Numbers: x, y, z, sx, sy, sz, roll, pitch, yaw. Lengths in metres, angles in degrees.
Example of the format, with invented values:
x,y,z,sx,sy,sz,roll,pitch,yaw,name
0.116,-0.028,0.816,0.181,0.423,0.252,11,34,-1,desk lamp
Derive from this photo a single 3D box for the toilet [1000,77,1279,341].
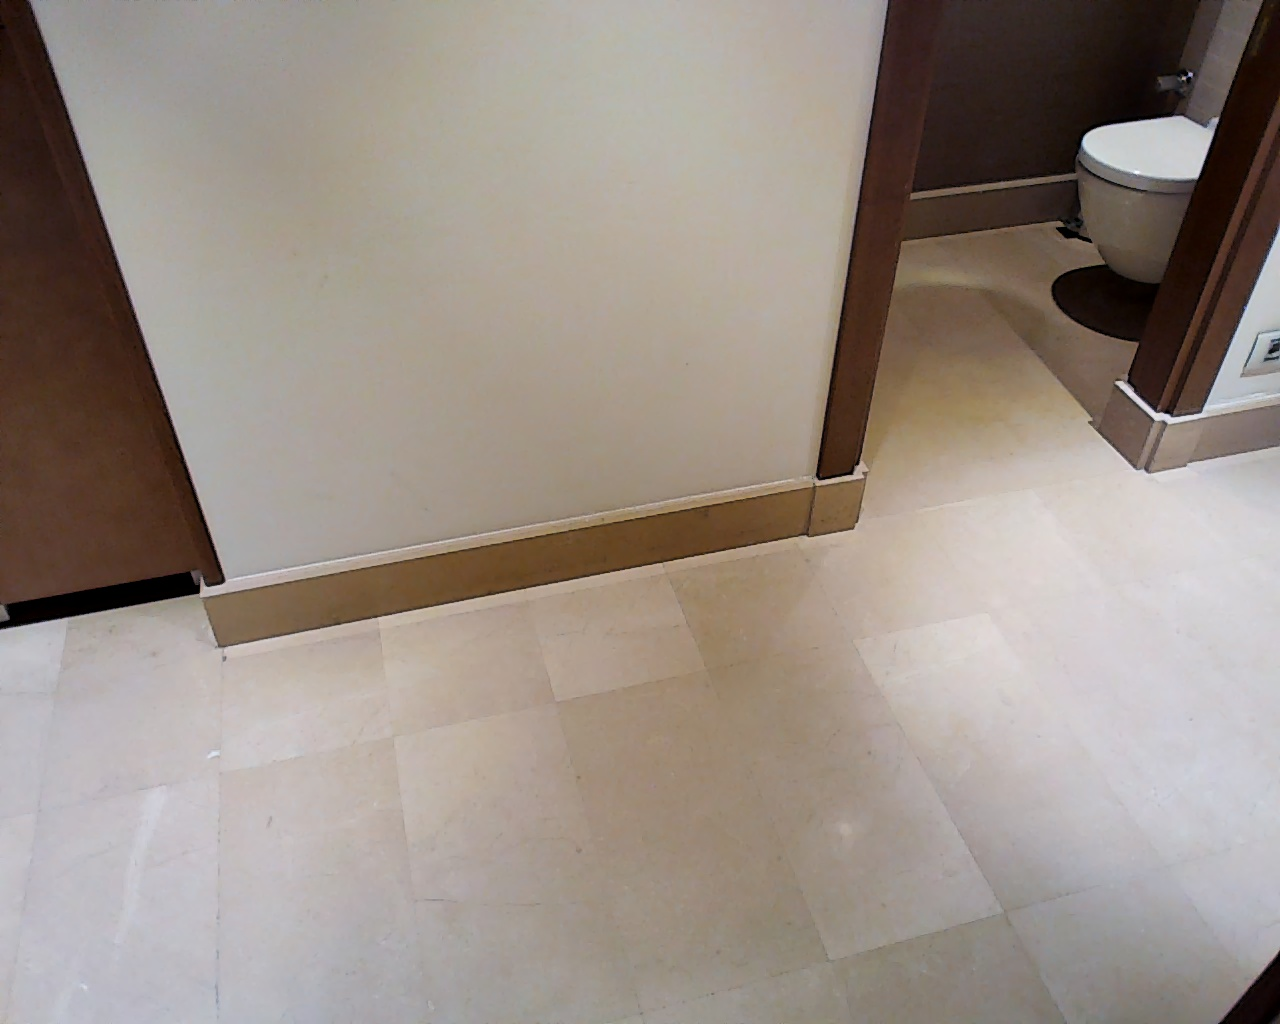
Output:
x,y,z,sx,sy,sz,roll,pitch,yaw,name
1.430,-0.850,3.000,0.570,0.500,0.440,-12,43,-13,toilet
